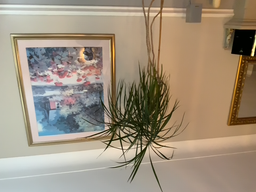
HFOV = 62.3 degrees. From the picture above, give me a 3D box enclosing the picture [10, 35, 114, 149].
[{"bbox_3d":[-0.520,-0.010,1.870,0.770,1.000,0.060,-3,-159,-10],"label":"picture"}]
